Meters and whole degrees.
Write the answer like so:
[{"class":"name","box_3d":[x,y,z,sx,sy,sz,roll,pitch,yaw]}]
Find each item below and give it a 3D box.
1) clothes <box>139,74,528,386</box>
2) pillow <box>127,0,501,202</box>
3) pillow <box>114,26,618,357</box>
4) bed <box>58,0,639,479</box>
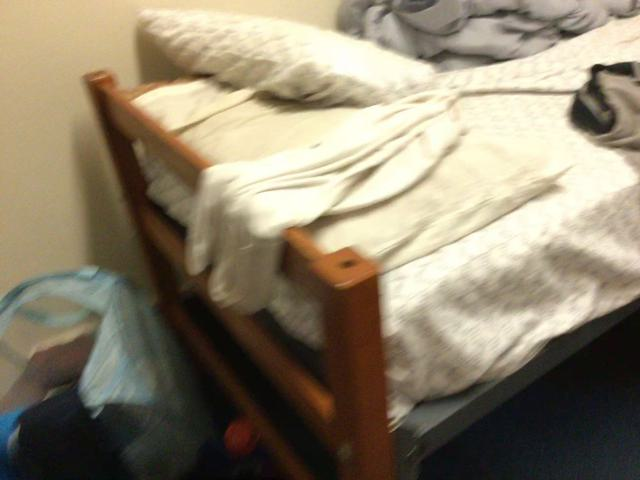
[{"class":"clothes","box_3d":[0.020,-0.050,0.810,0.420,0.200,0.290,-24,37,-23]},{"class":"pillow","box_3d":[-0.040,-0.370,1.170,0.480,0.230,0.600,-24,37,-23]},{"class":"pillow","box_3d":[0.010,-0.170,0.960,0.480,0.160,0.700,-24,37,-23]},{"class":"bed","box_3d":[0.690,-0.180,1.530,2.200,0.900,1.050,-24,37,-23]}]
